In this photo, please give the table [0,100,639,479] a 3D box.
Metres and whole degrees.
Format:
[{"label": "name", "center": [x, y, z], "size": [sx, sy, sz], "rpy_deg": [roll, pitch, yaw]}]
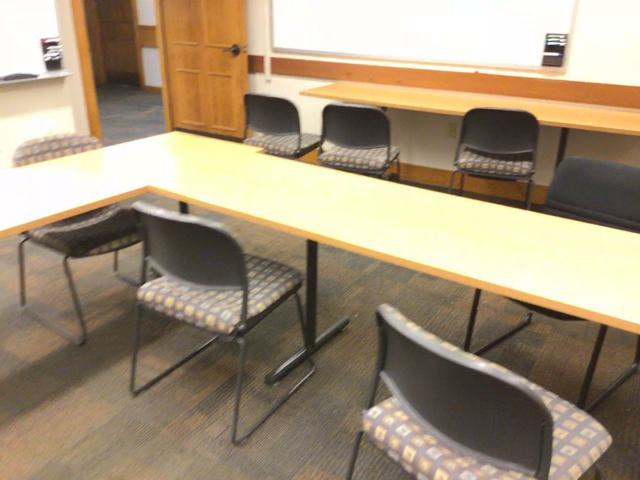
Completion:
[{"label": "table", "center": [-0.580, 0.780, 0.470], "size": [3.940, 0.870, 4.540], "rpy_deg": [16, 24, 28]}]
